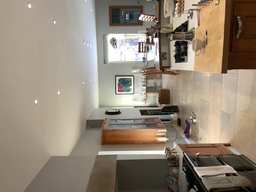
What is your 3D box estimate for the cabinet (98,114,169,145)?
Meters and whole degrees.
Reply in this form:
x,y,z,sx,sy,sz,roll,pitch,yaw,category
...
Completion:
x,y,z,sx,sy,sz,roll,pitch,yaw,category
0.120,0.860,5.660,1.200,1.670,0.430,-100,10,-80,cabinet
